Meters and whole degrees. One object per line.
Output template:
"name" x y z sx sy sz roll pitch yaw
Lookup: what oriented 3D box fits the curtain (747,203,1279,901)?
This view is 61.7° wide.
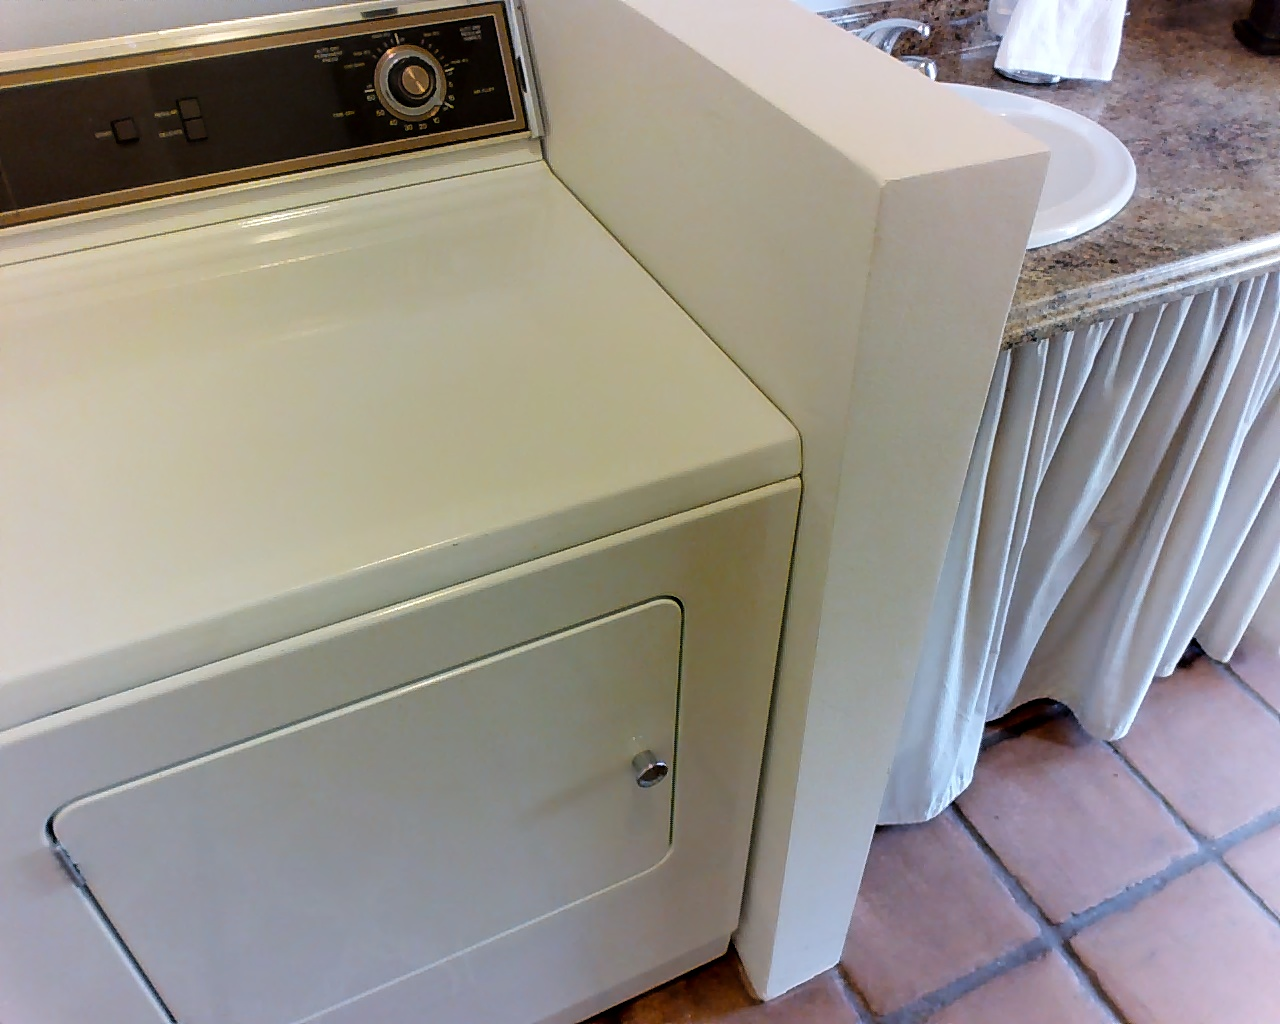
"curtain" 0.750 0.020 1.500 1.210 0.890 0.150 -17 46 -19

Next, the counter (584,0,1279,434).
"counter" 0.620 -0.480 1.410 1.220 0.080 0.670 -17 46 -19
